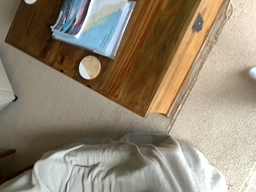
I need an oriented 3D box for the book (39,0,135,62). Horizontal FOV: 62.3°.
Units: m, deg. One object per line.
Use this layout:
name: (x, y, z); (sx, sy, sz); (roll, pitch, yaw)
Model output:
book: (-0.190, -0.330, 0.910); (0.380, 0.040, 0.270); (21, 92, 23)
